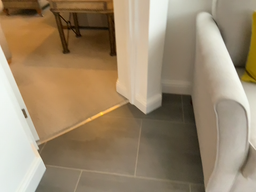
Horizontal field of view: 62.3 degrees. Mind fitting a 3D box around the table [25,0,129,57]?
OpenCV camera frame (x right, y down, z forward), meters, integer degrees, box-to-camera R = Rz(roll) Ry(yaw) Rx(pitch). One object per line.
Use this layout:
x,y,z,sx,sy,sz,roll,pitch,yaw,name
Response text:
-0.500,-0.920,2.480,0.930,0.600,0.740,4,39,6,table
